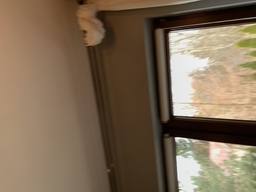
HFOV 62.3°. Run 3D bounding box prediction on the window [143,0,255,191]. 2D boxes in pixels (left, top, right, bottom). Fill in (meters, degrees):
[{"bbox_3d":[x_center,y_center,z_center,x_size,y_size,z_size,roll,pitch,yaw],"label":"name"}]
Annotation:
[{"bbox_3d":[0.960,0.280,1.400,0.270,1.590,1.810,-30,-62,-59],"label":"window"}]
